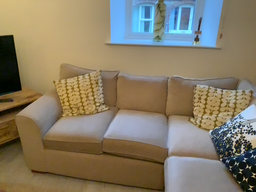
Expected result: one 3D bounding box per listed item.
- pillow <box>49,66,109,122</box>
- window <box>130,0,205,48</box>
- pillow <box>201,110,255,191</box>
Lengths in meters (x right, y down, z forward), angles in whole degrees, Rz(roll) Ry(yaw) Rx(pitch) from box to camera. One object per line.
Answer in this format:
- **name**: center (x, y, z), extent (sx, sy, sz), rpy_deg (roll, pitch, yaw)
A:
- **pillow**: center (-0.470, -0.020, 2.070), extent (0.430, 0.370, 0.190), rpy_deg (26, 7, -16)
- **window**: center (0.460, -1.170, 2.460), extent (0.840, 1.150, 0.100), rpy_deg (4, 22, 5)
- **pillow**: center (0.740, 0.360, 1.300), extent (0.130, 0.400, 0.550), rpy_deg (49, 13, -16)
